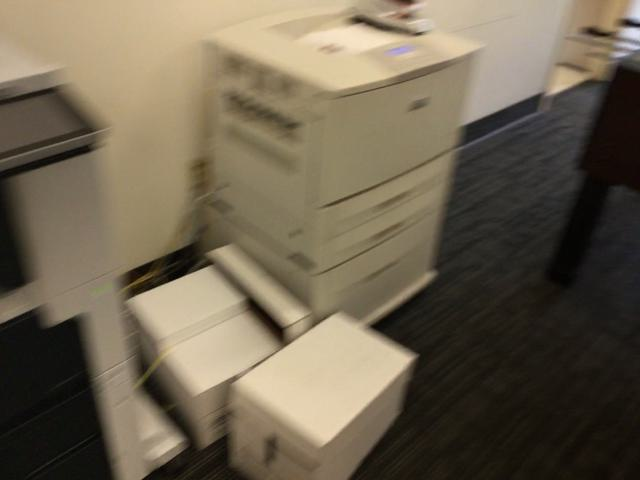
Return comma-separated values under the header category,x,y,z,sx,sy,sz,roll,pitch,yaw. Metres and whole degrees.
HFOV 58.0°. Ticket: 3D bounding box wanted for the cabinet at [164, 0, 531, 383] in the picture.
category,x,y,z,sx,sy,sz,roll,pitch,yaw
cabinet,0.060,-0.240,1.980,0.830,0.930,0.710,-25,45,-35
